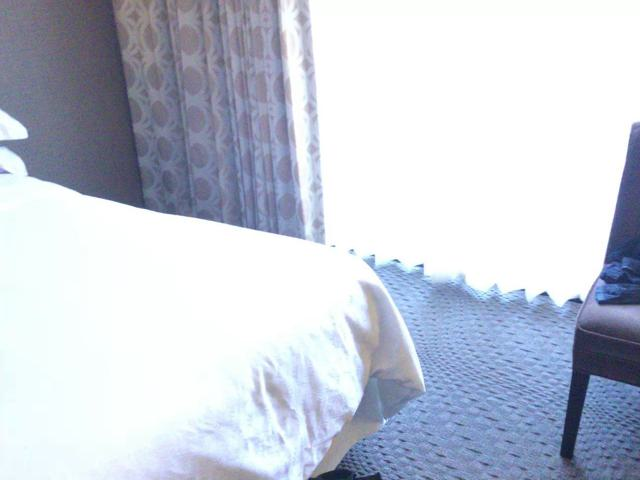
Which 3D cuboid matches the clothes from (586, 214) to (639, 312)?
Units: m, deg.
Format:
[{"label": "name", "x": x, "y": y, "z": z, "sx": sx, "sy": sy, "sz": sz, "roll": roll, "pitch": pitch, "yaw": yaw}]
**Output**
[{"label": "clothes", "x": 0.960, "y": 0.070, "z": 1.670, "sx": 0.290, "sy": 0.150, "sz": 0.330, "roll": 11, "pitch": 26, "yaw": 28}]
